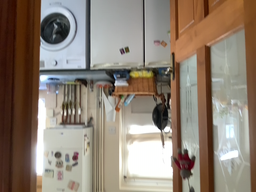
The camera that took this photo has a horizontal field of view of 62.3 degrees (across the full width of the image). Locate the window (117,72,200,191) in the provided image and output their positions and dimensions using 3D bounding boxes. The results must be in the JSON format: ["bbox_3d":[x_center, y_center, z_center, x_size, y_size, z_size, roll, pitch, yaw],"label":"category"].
[{"bbox_3d":[0.340,0.490,2.520,0.910,1.500,0.270,-1,177,2],"label":"window"}]
